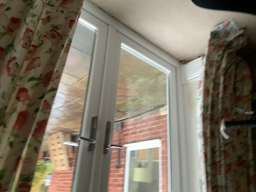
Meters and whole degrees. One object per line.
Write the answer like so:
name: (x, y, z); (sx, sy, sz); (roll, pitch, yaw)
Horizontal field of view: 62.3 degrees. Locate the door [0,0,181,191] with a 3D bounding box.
door: (-0.190, 0.550, 1.360); (1.650, 2.500, 0.130); (23, 150, -38)
